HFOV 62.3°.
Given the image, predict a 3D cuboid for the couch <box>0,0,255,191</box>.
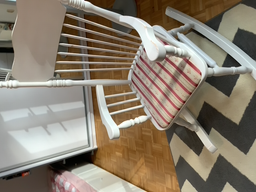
[{"bbox_3d":[0.030,-0.100,1.080,0.880,1.150,0.620,53,133,31],"label":"couch"}]
